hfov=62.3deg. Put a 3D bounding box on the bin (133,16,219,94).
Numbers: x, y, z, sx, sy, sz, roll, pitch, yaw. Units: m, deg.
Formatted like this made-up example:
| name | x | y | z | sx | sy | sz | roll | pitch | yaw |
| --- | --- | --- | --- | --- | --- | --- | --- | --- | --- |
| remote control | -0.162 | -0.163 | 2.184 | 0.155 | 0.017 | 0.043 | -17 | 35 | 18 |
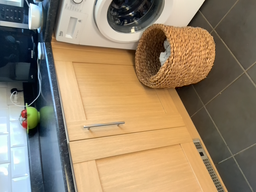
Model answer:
| name | x | y | z | sx | sy | sz | roll | pitch | yaw |
| --- | --- | --- | --- | --- | --- | --- | --- | --- | --- |
| bin | 0.280 | -0.240 | 1.350 | 0.340 | 0.300 | 0.320 | -53 | 47 | 46 |
